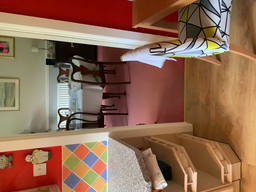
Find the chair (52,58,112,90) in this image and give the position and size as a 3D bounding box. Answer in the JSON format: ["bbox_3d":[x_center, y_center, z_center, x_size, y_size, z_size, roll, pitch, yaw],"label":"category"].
[{"bbox_3d":[-0.900,-0.420,4.110,0.540,0.990,0.460,31,117,59],"label":"chair"}]

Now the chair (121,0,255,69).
[{"bbox_3d":[0.480,-0.480,1.480,0.420,0.950,0.510,7,96,62],"label":"chair"}]

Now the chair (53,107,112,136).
[{"bbox_3d":[-0.860,0.450,4.020,0.540,0.990,0.460,-3,87,63],"label":"chair"}]
